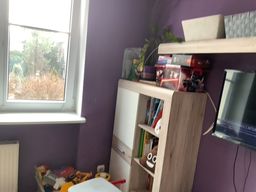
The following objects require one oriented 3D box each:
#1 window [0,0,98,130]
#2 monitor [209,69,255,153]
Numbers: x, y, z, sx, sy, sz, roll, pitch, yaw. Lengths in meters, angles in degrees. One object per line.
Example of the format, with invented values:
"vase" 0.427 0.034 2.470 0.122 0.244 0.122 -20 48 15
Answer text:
"window" -1.150 -0.620 1.840 1.700 1.820 0.290 2 9 -29
"monitor" 0.740 0.100 1.070 0.030 0.430 0.690 5 7 -29
